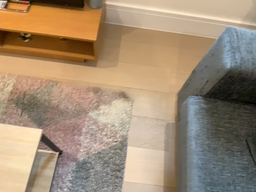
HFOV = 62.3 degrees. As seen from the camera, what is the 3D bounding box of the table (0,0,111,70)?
[{"bbox_3d":[-0.730,-0.520,1.370,1.180,0.280,0.430,9,65,-2],"label":"table"}]
